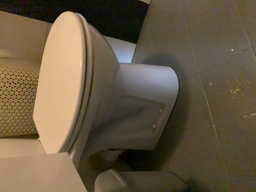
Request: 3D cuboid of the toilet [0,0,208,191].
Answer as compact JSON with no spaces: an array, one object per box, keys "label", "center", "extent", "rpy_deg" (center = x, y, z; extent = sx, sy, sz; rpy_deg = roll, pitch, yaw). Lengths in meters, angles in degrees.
[{"label":"toilet","center":[-0.220,0.060,0.800],"extent":[0.360,0.830,0.670],"rpy_deg":[40,119,47]}]
